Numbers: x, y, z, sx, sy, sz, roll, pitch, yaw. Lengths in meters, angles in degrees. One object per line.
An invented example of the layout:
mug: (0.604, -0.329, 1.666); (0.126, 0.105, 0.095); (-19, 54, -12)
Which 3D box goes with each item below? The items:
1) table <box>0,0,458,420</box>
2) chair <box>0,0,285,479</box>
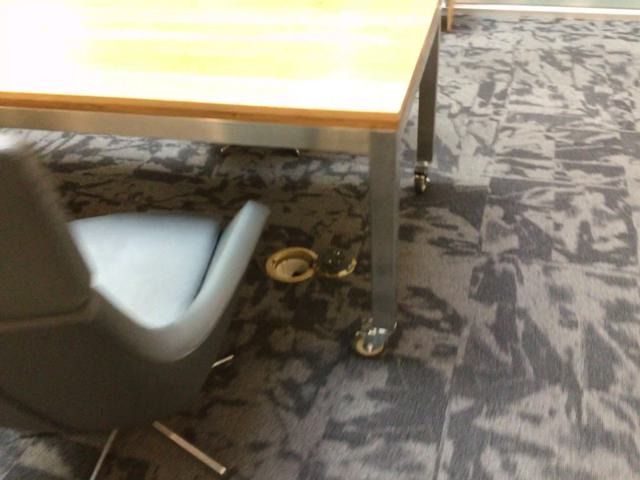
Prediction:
table: (-0.830, -0.370, 1.980); (2.360, 0.860, 1.090); (10, 38, 13)
chair: (-0.480, 0.070, 1.190); (0.710, 0.950, 0.750); (2, 37, 2)
